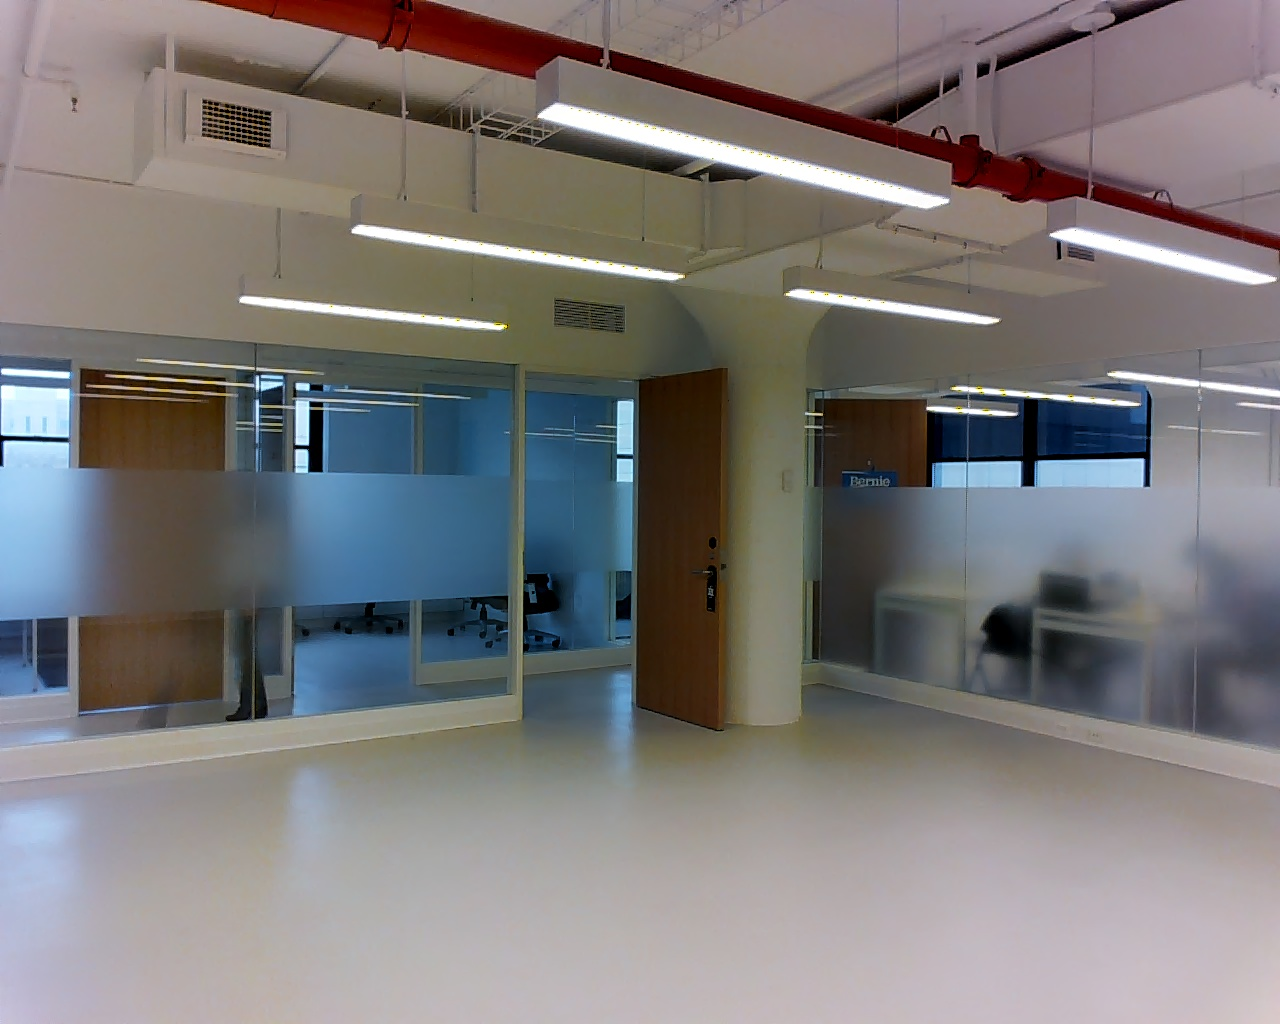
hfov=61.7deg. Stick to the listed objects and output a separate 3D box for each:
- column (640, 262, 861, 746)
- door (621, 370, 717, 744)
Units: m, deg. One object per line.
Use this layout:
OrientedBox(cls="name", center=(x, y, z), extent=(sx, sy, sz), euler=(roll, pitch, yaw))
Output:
OrientedBox(cls="column", center=(0.720, -0.050, 7.130), extent=(1.000, 2.901, 1.040), euler=(0, 0, -34))
OrientedBox(cls="door", center=(0.170, 0.270, 6.900), extent=(0.040, 2.271, 0.940), euler=(0, 0, -36))
